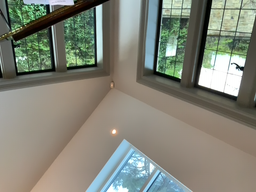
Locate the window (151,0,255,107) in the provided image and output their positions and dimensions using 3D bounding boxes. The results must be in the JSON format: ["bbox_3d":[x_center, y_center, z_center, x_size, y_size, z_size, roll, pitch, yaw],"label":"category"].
[{"bbox_3d":[1.200,-0.750,2.290,0.120,1.580,2.430,-13,-154,-36],"label":"window"}]
